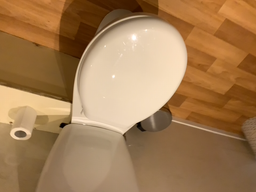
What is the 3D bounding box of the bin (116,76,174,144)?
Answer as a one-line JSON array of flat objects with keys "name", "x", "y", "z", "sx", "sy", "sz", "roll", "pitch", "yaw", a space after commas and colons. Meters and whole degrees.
[{"name": "bin", "x": 0.080, "y": 0.080, "z": 1.210, "sx": 0.190, "sy": 0.270, "sz": 0.230, "roll": 18, "pitch": 126, "yaw": -24}]
